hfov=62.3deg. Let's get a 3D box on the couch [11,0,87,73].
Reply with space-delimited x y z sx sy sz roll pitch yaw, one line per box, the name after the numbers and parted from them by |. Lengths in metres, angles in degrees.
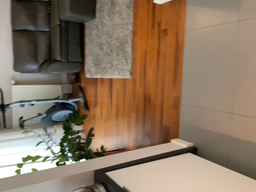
-1.360 -1.390 3.600 0.950 1.020 1.920 6 97 56 | couch
